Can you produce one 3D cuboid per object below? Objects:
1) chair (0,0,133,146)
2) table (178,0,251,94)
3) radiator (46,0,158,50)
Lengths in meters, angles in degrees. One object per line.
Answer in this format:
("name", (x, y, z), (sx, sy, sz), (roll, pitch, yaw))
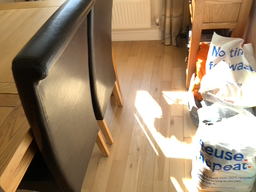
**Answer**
("chair", (-0.340, -0.180, 1.290), (0.590, 1.010, 0.430), (2, 46, 11))
("table", (0.620, -0.590, 1.760), (0.350, 0.760, 0.840), (2, 46, 11))
("radiator", (-0.250, -0.790, 2.310), (1.130, 0.550, 0.150), (3, 46, 12))
